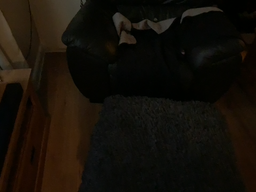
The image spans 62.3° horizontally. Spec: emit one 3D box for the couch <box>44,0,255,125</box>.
[{"bbox_3d":[0.190,-0.490,1.690,1.170,0.890,0.950,7,47,4],"label":"couch"}]
